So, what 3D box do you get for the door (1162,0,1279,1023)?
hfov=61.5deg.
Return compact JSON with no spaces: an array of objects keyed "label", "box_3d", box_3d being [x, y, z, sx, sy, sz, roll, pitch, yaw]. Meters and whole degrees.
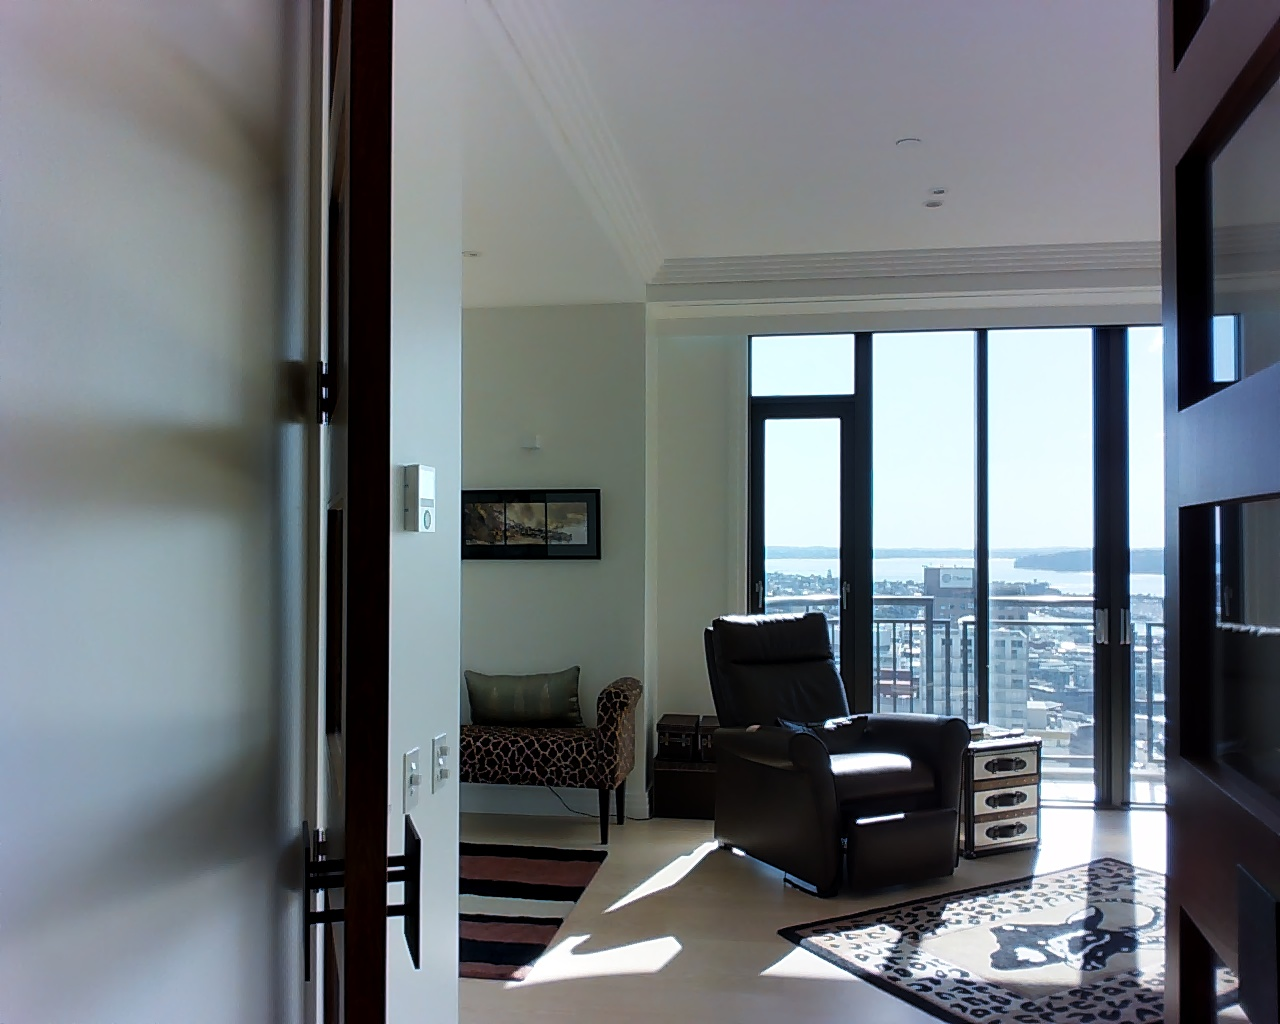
[{"label":"door","box_3d":[0.670,0.180,1.140,0.090,2.321,0.610,0,-1,15]}]
